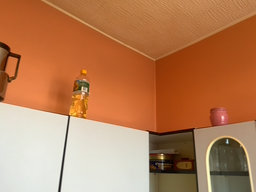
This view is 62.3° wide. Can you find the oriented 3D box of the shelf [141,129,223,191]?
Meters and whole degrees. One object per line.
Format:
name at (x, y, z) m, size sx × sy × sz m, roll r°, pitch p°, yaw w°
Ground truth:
shelf at (0.310, 0.570, 1.260) m, size 0.270 × 0.670 × 0.390 m, roll 18°, pitch -25°, yaw -38°
